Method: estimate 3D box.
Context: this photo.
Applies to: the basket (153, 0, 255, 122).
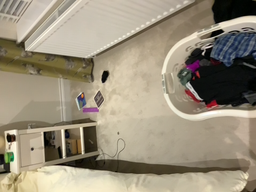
[{"bbox_3d":[0.490,-0.140,1.140,0.240,0.530,0.680,1,174,-42],"label":"basket"}]
